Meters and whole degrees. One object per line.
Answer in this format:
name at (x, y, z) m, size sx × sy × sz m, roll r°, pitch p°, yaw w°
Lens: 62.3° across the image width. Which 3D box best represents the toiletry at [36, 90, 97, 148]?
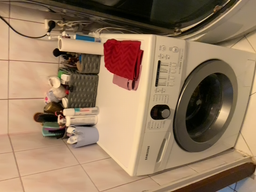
toiletry at (-0.350, 0.110, 1.180) m, size 0.250 × 0.240 × 0.220 m, roll 30°, pitch 115°, yaw 51°
